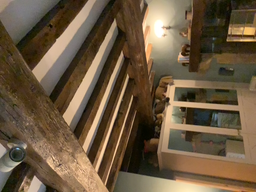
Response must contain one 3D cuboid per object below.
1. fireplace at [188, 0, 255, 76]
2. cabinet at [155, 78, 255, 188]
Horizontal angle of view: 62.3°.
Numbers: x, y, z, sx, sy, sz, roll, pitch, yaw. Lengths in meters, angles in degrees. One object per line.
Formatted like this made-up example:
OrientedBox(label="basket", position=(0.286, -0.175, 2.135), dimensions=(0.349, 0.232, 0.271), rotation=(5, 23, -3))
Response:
OrientedBox(label="fireplace", position=(2.090, -1.300, 3.900), dimensions=(1.660, 1.780, 0.880), rotation=(78, -157, -46))
OrientedBox(label="cabinet", position=(1.830, 0.640, 4.330), dimensions=(0.840, 2.230, 1.920), rotation=(78, -158, -45))
